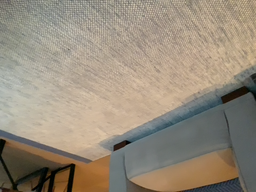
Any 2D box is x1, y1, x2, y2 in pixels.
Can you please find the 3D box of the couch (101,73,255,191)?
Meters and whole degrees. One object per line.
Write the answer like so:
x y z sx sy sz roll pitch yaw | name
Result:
0.610 0.660 1.770 0.990 0.720 1.410 30 132 -35 | couch
